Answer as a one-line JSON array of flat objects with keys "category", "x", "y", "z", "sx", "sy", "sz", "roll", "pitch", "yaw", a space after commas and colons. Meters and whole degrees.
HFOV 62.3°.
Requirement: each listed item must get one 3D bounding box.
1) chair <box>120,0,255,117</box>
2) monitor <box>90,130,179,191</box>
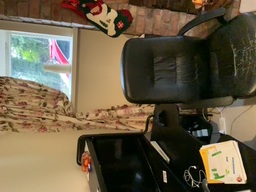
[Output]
[{"category": "chair", "x": 0.610, "y": -0.230, "z": 1.470, "sx": 0.720, "sy": 1.170, "sz": 0.710, "roll": 166, "pitch": 104, "yaw": -71}, {"category": "monitor", "x": 0.020, "y": 0.570, "z": 1.820, "sx": 0.750, "sy": 0.590, "sz": 0.040, "roll": -116, "pitch": 33, "yaw": -53}]
